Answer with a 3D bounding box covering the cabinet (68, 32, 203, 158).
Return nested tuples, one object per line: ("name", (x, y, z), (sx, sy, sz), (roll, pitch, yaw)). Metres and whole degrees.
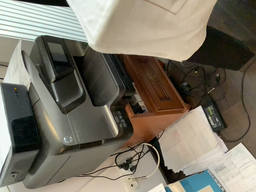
("cabinet", (0.020, 0.000, 1.150), (0.400, 0.450, 0.440), (-50, 55, 35))
